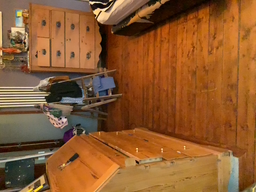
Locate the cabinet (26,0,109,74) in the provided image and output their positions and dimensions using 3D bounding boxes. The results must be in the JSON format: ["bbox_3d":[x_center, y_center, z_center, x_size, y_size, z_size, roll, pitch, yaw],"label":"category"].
[{"bbox_3d":[-1.090,-1.000,3.820,0.600,1.340,1.090,180,89,-65],"label":"cabinet"}]

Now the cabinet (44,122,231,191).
[{"bbox_3d":[-0.090,0.660,1.920,1.410,1.180,0.600,-179,88,-66],"label":"cabinet"}]
